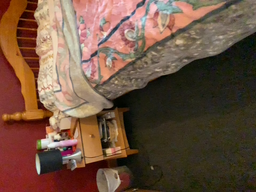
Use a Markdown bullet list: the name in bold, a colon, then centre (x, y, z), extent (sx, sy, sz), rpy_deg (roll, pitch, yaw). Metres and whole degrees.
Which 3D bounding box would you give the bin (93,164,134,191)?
- **bin**: centre (-0.150, 0.810, 2.090), extent (0.260, 0.290, 0.200), rpy_deg (-28, 69, 54)

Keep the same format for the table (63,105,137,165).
- **table**: centre (-0.290, 0.380, 2.070), extent (0.450, 0.520, 0.460), rpy_deg (-27, 71, 55)
